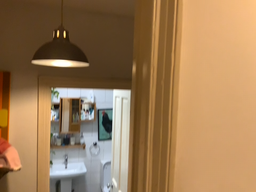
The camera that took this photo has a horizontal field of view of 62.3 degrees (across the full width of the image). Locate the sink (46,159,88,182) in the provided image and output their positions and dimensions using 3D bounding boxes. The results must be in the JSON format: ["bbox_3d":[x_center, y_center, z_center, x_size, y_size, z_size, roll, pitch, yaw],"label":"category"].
[{"bbox_3d":[-0.920,1.100,3.170,0.560,0.140,0.430,2,3,-19],"label":"sink"}]

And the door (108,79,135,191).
[{"bbox_3d":[-0.100,0.890,2.210,0.050,2.110,0.710,1,2,-17],"label":"door"}]
